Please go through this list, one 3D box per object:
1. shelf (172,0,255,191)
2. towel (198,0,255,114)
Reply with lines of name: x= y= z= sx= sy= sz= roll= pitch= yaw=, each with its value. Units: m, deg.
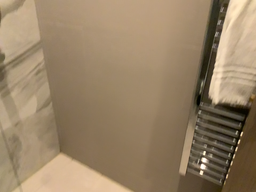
shelf: x=0.400 y=-0.080 z=0.850 sx=0.250 sy=1.360 sz=0.060 roll=16 pitch=32 yaw=23
towel: x=0.380 y=-0.170 z=0.720 sx=0.170 sy=0.430 sz=0.110 roll=18 pitch=33 yaw=26
